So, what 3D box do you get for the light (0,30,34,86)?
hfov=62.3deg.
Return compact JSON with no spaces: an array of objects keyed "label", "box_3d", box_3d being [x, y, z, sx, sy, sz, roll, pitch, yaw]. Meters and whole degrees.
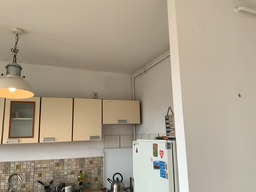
[{"label":"light","box_3d":[-1.190,-0.350,2.060,0.670,0.430,0.450,-164,77,-71]}]
